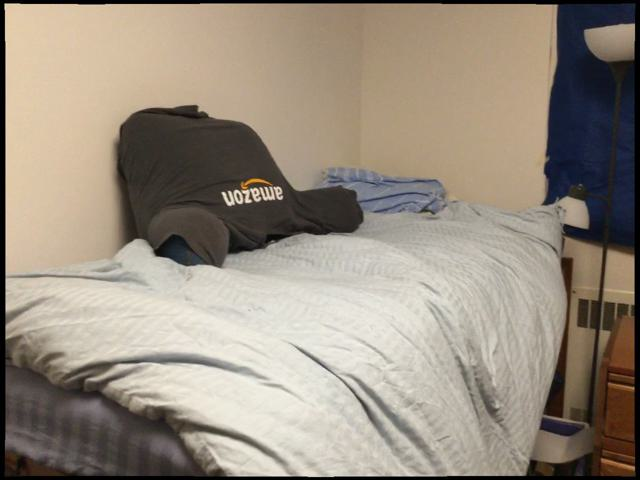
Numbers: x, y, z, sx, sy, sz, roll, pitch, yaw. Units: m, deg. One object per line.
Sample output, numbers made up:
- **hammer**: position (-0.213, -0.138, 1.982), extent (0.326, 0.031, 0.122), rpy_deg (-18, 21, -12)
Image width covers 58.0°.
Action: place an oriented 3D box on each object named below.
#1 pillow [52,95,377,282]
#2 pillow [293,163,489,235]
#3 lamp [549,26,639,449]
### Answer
- **pillow**: position (-0.240, -0.200, 1.740), extent (0.479, 0.401, 0.910), rpy_deg (8, 12, 28)
- **pillow**: position (0.319, -0.200, 2.480), extent (0.659, 0.200, 0.580), rpy_deg (8, 12, 28)
- **lamp**: position (1.138, 0.010, 2.260), extent (0.270, 1.573, 0.300), rpy_deg (8, 16, 28)
